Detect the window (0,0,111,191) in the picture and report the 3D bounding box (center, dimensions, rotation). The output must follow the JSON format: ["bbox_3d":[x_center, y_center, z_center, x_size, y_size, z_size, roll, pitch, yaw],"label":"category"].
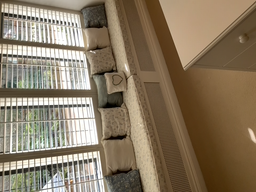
[{"bbox_3d":[-0.920,0.000,2.320,0.040,1.190,2.790,-47,48,53],"label":"window"}]
